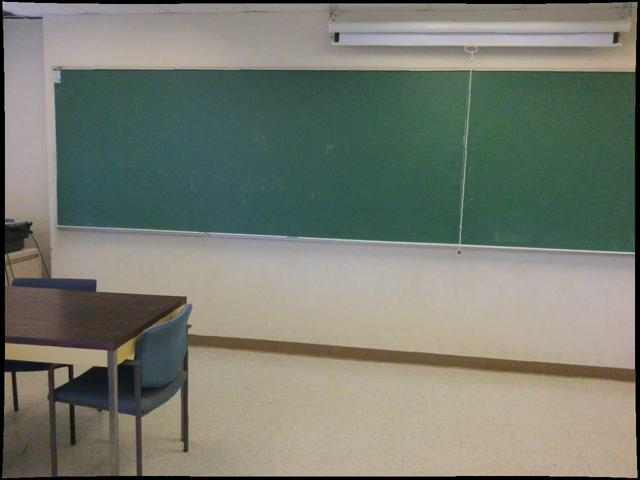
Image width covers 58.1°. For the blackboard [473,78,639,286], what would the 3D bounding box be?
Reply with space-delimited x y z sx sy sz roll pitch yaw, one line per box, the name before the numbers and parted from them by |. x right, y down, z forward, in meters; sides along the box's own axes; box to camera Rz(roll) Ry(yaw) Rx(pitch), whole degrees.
blackboard | 2.603 -0.311 3.660 3.062 1.293 0.110 4 10 8

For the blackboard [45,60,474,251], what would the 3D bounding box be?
blackboard | -0.519 -0.632 4.140 3.032 1.133 0.190 5 10 9
